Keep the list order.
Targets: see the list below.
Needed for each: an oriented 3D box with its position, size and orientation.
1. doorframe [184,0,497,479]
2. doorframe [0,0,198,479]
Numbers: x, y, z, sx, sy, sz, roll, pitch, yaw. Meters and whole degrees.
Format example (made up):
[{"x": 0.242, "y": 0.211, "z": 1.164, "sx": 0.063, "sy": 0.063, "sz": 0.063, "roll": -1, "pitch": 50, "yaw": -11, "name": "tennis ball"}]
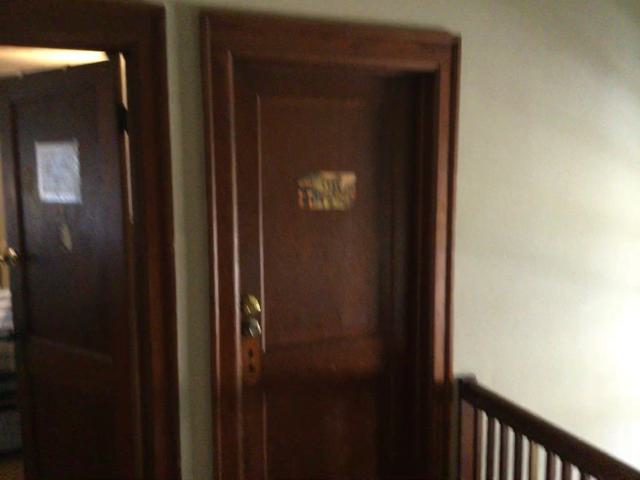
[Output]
[{"x": 0.100, "y": 0.220, "z": 2.290, "sx": 1.210, "sy": 2.130, "sz": 0.240, "roll": 0, "pitch": 2, "yaw": -22, "name": "doorframe"}, {"x": -0.990, "y": 0.300, "z": 1.830, "sx": 1.090, "sy": 2.140, "sz": 0.200, "roll": -5, "pitch": 6, "yaw": -23, "name": "doorframe"}]
